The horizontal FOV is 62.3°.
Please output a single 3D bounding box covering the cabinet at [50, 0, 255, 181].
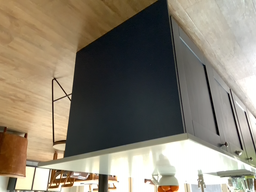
[{"bbox_3d":[0.830,0.400,2.460,1.000,0.920,3.110,-21,148,35],"label":"cabinet"}]
